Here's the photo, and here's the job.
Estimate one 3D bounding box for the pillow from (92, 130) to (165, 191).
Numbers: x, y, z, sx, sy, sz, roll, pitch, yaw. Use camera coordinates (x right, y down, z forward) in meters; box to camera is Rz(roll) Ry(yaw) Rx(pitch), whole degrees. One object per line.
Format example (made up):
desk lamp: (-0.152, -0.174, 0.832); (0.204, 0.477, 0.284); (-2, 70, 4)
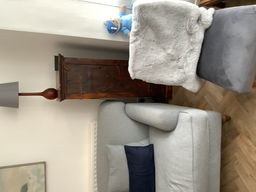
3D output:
pillow: (0.020, 0.680, 2.000); (0.550, 0.480, 0.130); (-61, 22, -8)

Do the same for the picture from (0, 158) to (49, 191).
picture: (-1.190, 1.130, 2.140); (0.010, 0.740, 0.920); (-176, 86, -66)

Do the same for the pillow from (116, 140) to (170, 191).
pillow: (0.140, 0.700, 1.920); (0.520, 0.280, 0.100); (-63, 18, -11)
